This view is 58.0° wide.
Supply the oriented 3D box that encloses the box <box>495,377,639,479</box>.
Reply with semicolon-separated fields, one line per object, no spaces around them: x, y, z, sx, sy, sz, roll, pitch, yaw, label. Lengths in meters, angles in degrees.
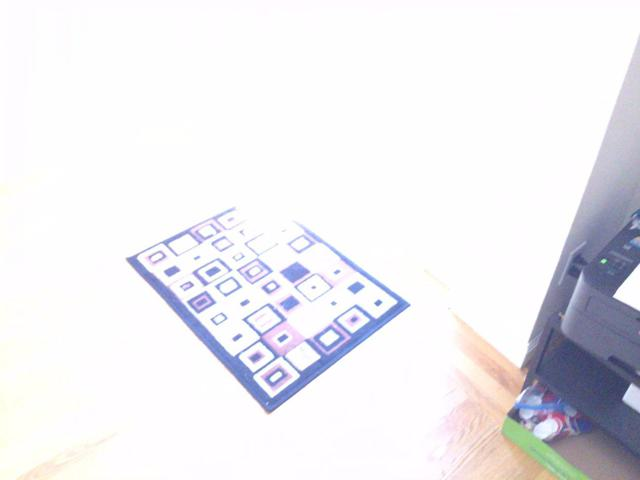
0.640;0.520;1.420;0.220;0.070;0.330;-24;45;-28;box
